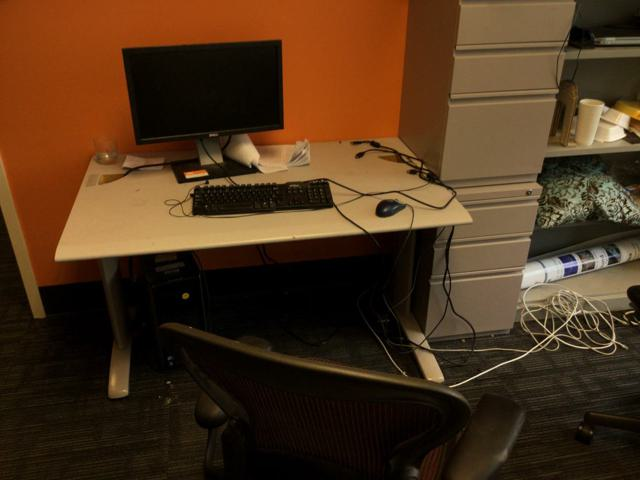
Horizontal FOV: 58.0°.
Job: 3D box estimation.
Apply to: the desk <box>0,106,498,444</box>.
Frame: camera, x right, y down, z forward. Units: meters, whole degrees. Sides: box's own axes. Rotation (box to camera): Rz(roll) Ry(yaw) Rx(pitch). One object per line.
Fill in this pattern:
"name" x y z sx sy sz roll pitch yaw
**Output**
"desk" -0.210 0.060 2.050 1.310 0.820 0.780 -4 29 -7
